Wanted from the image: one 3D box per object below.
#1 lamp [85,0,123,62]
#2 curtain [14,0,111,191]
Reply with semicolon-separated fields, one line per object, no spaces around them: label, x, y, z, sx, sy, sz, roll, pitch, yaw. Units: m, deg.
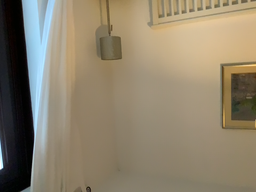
lamp;-0.210;-0.630;1.860;0.220;0.630;0.200;-1;-175;26
curtain;-0.420;-0.440;1.400;0.220;2.470;0.540;-1;-175;24
